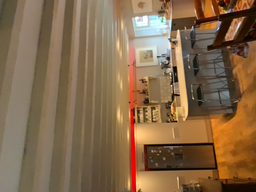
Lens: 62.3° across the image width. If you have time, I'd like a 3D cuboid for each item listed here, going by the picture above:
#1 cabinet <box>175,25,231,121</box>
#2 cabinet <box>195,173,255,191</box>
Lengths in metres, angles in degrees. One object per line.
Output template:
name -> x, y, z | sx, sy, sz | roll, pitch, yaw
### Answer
cabinet -> 1.670, -0.530, 5.010 | 0.770, 0.870, 2.090 | 69, -161, -70
cabinet -> 1.580, 1.400, 3.050 | 1.620, 0.860, 0.500 | 69, -161, -70
